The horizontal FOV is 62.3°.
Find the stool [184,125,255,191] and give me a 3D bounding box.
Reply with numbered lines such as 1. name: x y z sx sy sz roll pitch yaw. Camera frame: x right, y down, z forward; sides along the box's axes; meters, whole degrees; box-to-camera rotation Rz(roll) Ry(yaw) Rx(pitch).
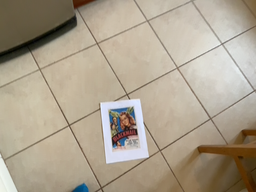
1. stool: 0.520 0.320 0.860 0.310 0.460 0.340 -18 78 -13
